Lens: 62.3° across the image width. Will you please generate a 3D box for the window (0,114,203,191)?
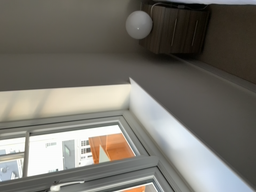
[{"bbox_3d":[-0.320,0.420,1.020,1.070,1.210,0.070,-135,44,-59],"label":"window"}]
